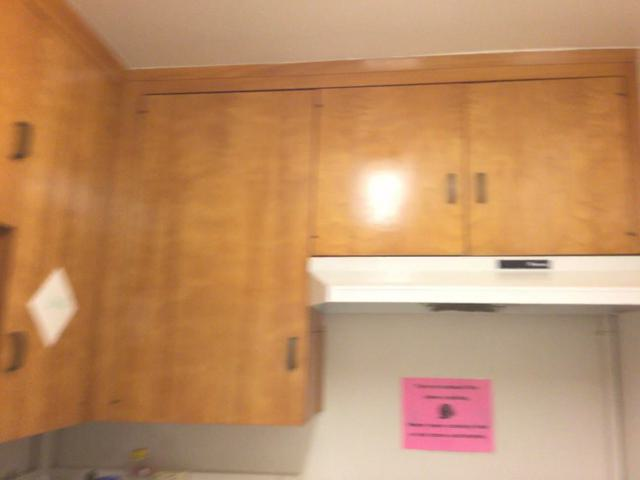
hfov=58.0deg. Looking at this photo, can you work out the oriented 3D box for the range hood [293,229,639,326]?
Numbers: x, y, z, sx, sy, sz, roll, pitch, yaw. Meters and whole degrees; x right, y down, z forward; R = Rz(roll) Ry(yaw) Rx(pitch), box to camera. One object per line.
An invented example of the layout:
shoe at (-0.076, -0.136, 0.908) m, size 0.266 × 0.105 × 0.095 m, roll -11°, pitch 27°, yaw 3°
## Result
range hood at (0.410, 0.110, 1.550) m, size 0.910 × 0.180 × 0.380 m, roll 1°, pitch -12°, yaw 6°
